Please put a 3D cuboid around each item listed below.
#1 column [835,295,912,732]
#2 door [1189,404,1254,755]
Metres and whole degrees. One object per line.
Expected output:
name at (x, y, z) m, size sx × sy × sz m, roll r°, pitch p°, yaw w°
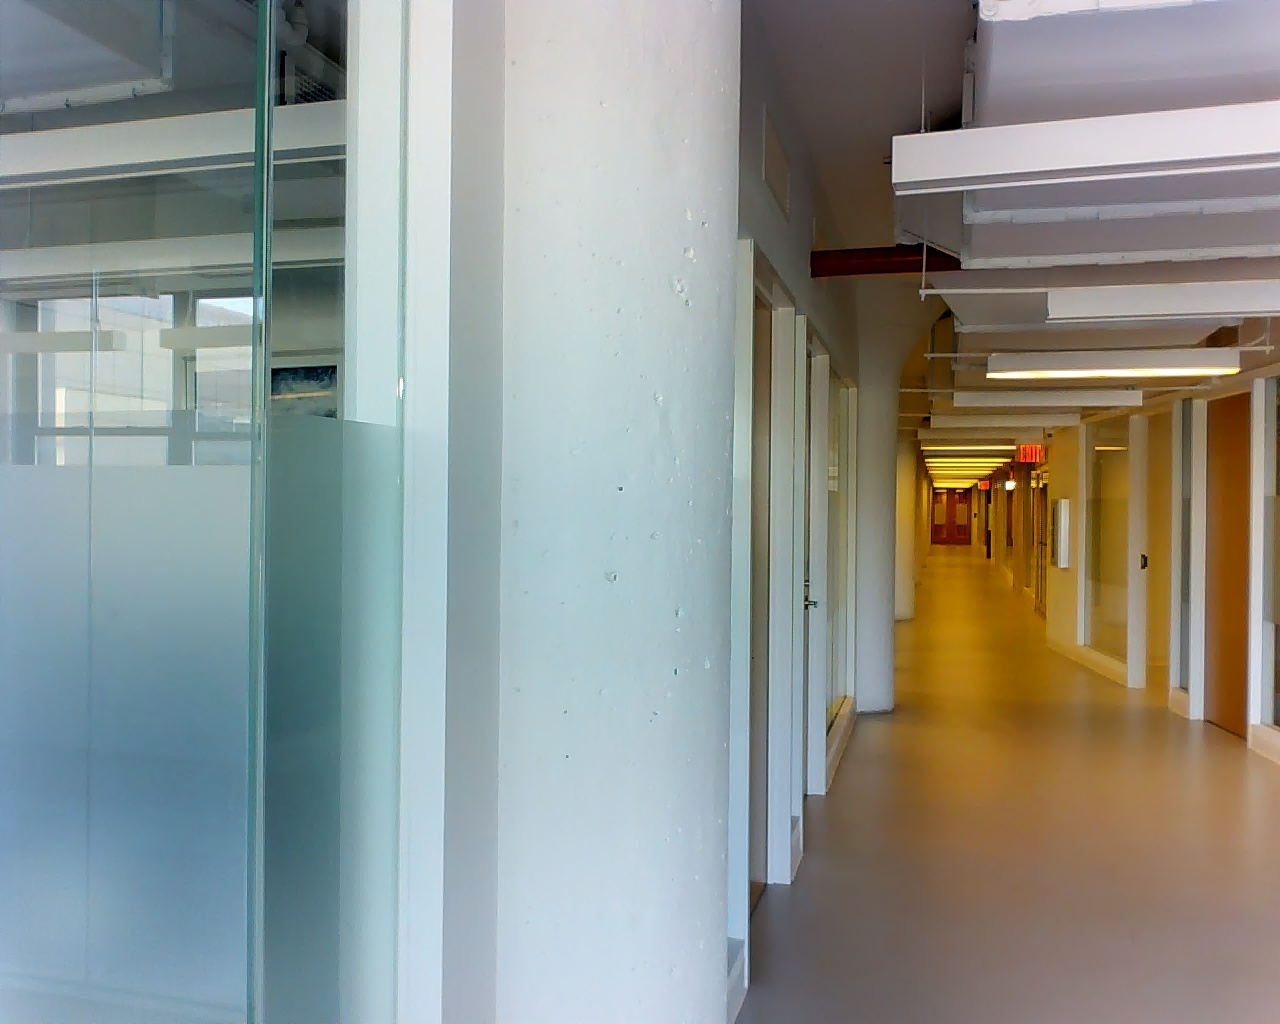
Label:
column at (1.710, 0.010, 7.740) m, size 0.460 × 2.881 × 1.280 m, roll 1°, pitch 0°, yaw 15°
door at (3.809, 0.420, 7.040) m, size 0.050 × 2.170 × 0.820 m, roll 1°, pitch 0°, yaw 6°
